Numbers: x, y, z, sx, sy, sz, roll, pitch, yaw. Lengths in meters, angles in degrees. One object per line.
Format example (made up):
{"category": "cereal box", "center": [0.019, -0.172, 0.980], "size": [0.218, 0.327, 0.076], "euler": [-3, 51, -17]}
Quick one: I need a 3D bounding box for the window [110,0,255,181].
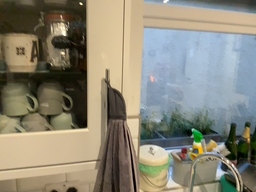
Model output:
{"category": "window", "center": [0.510, -0.170, 1.350], "size": [1.230, 1.330, 0.110], "euler": [-1, 12, -16]}

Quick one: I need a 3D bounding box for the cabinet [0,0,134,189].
{"category": "cabinet", "center": [-0.290, -0.260, 0.640], "size": [0.540, 0.970, 0.320], "euler": [-2, 12, -16]}
